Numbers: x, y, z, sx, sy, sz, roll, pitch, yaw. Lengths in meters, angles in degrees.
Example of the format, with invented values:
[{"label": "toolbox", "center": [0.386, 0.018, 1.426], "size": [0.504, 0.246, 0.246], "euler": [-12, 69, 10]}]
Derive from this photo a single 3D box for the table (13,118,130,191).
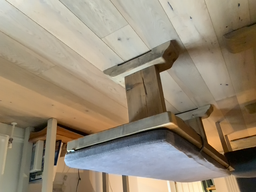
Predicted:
[{"label": "table", "center": [-0.440, 0.740, 2.010], "size": [0.370, 0.730, 1.110], "euler": [-20, 151, 24]}]
